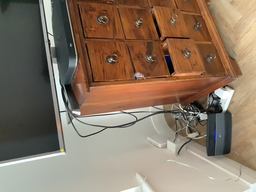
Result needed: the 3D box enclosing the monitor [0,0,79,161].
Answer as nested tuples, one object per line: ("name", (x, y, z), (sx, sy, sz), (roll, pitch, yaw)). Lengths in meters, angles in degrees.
("monitor", (-0.580, -0.220, 0.830), (0.070, 0.610, 0.950), (-48, 52, 56))
